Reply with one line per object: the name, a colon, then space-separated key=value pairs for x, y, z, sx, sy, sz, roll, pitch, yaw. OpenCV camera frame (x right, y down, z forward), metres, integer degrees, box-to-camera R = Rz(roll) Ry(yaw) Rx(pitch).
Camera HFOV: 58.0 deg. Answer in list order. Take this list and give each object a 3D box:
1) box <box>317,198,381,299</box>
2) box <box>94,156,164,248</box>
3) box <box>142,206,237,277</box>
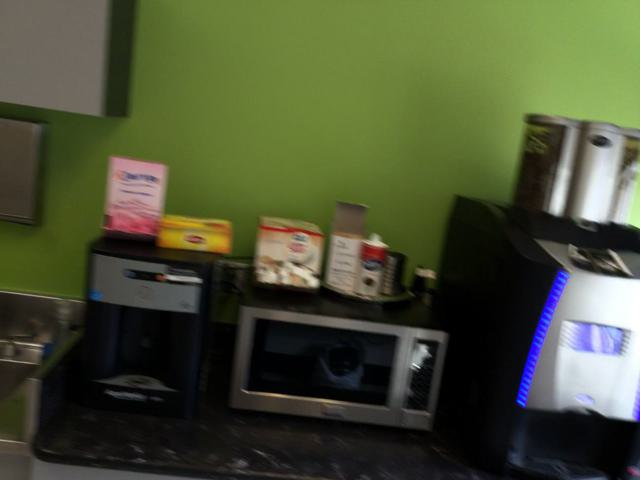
box: x=0.090 y=0.020 z=1.930 sx=0.130 sy=0.290 sz=0.240 roll=9 pitch=7 yaw=-7
box: x=-0.530 y=-0.110 z=1.620 sx=0.130 sy=0.230 sz=0.150 roll=9 pitch=7 yaw=-7
box: x=-0.370 y=0.000 z=1.670 sx=0.230 sy=0.150 sz=0.170 roll=9 pitch=7 yaw=-7
